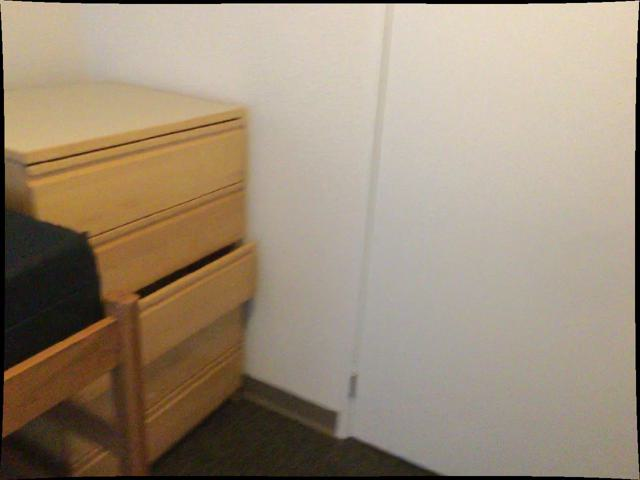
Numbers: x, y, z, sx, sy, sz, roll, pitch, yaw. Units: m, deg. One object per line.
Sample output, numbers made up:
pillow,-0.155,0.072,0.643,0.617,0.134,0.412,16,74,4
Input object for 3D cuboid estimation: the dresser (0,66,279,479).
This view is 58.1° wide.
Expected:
dresser,-0.769,0.130,1.820,0.819,1.121,0.880,20,27,24
